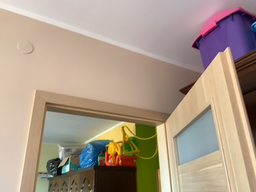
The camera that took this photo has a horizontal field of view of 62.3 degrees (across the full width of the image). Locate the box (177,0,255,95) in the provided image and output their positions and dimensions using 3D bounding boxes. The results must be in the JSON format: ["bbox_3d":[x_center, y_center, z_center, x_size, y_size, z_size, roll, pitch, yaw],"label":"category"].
[{"bbox_3d":[0.620,-0.290,1.390,0.320,0.370,0.450,12,-27,-28],"label":"box"}]
